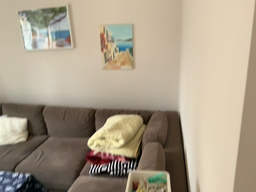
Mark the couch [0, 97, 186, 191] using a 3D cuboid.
[{"bbox_3d":[-0.990,0.590,2.510,3.150,0.800,1.120,2,17,12],"label":"couch"}]
